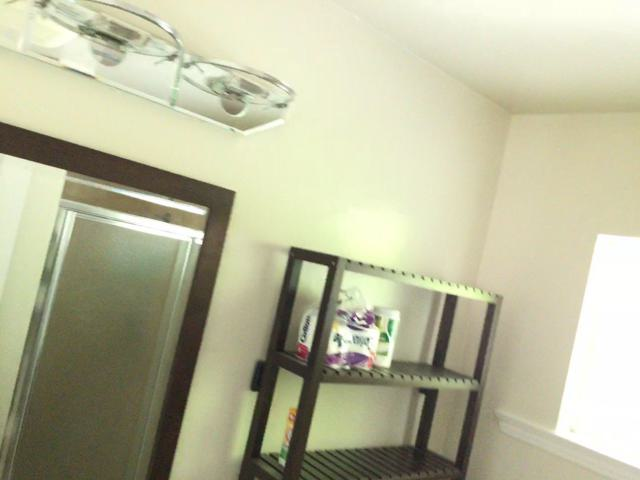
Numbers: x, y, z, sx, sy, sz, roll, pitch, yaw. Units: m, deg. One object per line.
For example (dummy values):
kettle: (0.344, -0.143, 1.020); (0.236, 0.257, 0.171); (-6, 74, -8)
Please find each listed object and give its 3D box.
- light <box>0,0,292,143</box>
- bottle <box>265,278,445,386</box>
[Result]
light: (-0.410, -0.370, 1.050); (0.780, 0.130, 0.150); (17, -6, -40)
bottle: (0.100, 0.240, 1.470); (0.420, 0.190, 0.180); (17, -6, -40)
